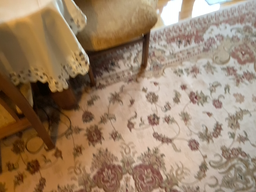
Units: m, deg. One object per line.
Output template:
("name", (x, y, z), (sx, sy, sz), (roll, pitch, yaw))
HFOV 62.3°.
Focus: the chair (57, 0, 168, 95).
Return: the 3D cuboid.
("chair", (-0.140, -0.570, 1.140), (0.480, 1.050, 0.560), (-20, 62, -10))
